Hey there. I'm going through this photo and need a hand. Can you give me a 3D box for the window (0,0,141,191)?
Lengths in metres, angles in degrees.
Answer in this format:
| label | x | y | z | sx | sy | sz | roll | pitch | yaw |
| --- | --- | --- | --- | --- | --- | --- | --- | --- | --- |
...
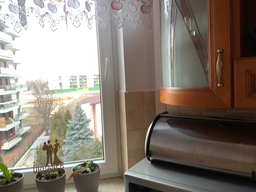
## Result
| label | x | y | z | sx | sy | sz | roll | pitch | yaw |
| --- | --- | --- | --- | --- | --- | --- | --- | --- | --- |
| window | -0.390 | -0.020 | 1.070 | 0.840 | 1.230 | 0.250 | -3 | 6 | -9 |
